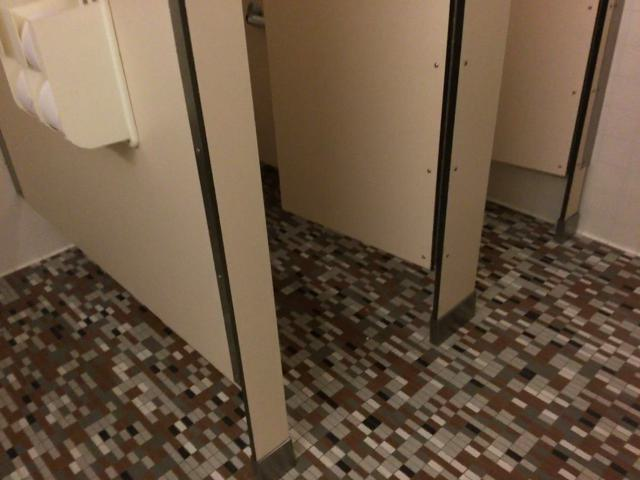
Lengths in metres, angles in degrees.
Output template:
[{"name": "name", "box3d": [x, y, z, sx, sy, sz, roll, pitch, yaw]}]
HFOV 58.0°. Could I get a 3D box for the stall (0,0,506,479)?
[{"name": "stall", "box3d": [-0.410, -0.600, 1.620, 0.910, 1.900, 1.520, -29, 40, -34]}]
